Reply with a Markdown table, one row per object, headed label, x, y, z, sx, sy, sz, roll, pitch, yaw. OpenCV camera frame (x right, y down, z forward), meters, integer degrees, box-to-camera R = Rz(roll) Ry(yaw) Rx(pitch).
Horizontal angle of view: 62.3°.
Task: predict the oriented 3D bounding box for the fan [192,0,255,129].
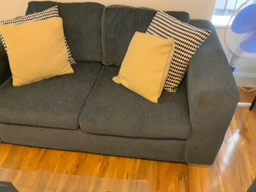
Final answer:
| label | x | y | z | sx | sy | sz | roll | pitch | yaw |
| --- | --- | --- | --- | --- | --- | --- | --- | --- | --- |
| fan | 0.810 | -0.230 | 1.550 | 0.420 | 1.010 | 0.350 | -2 | 41 | 0 |

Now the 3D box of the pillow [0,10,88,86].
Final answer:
| label | x | y | z | sx | sy | sz | roll | pitch | yaw |
| --- | --- | --- | --- | --- | --- | --- | --- | --- | --- |
| pillow | -0.620 | -0.310 | 1.530 | 0.500 | 0.470 | 0.190 | -6 | 54 | -37 |

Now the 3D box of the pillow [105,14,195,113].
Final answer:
| label | x | y | z | sx | sy | sz | roll | pitch | yaw |
| --- | --- | --- | --- | --- | --- | --- | --- | --- | --- |
| pillow | 0.120 | -0.210 | 1.420 | 0.180 | 0.400 | 0.480 | -6 | 58 | -48 |

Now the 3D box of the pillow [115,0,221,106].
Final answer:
| label | x | y | z | sx | sy | sz | roll | pitch | yaw |
| --- | --- | --- | --- | --- | --- | --- | --- | --- | --- |
| pillow | 0.240 | -0.280 | 1.470 | 0.230 | 0.520 | 0.490 | -2 | 60 | -48 |
